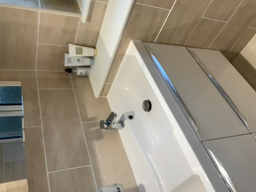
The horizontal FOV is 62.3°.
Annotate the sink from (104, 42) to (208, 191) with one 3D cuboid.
[{"bbox_3d":[0.070,0.100,1.090,0.460,0.110,0.610,-63,39,42],"label":"sink"}]
